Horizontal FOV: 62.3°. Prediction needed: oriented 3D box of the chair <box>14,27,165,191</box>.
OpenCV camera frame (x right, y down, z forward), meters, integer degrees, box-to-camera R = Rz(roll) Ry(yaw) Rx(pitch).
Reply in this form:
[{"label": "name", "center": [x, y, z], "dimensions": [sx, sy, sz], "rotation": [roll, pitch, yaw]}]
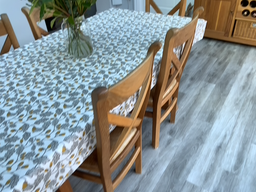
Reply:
[{"label": "chair", "center": [-0.140, 0.180, 1.200], "dimensions": [0.490, 0.940, 0.430], "rotation": [20, 43, 26]}]
